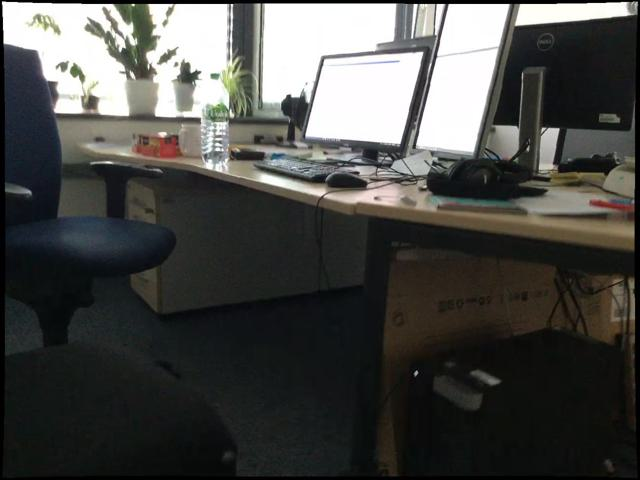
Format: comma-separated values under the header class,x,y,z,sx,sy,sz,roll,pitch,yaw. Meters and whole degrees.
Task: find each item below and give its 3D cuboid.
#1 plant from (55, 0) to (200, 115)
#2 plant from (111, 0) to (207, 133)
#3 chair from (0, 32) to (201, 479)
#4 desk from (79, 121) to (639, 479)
class,x,y,z,sx,sy,sz,roll,pitch,yaw
plant,-0.989,-1.001,2.960,0.600,0.691,0.480,-6,16,-28
plant,-0.829,-0.941,2.970,0.370,0.741,0.360,-6,16,-28
chair,-0.799,0.000,1.590,0.769,1.011,0.750,1,14,-1
desk,0.410,0.020,2.120,2.028,0.781,2.759,-6,16,-28
